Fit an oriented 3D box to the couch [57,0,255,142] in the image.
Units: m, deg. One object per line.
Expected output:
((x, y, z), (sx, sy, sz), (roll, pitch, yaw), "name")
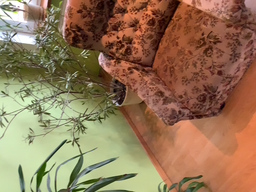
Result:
((0.180, -0.360, 1.330), (0.880, 0.920, 0.780), (52, 131, 43), "couch")
